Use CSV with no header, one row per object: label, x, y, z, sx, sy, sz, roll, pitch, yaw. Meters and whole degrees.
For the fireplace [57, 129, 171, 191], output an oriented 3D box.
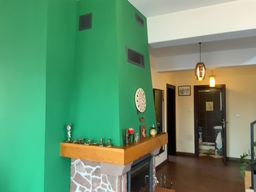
fireplace,-0.060,1.050,2.400,0.790,1.180,1.210,0,-2,26
